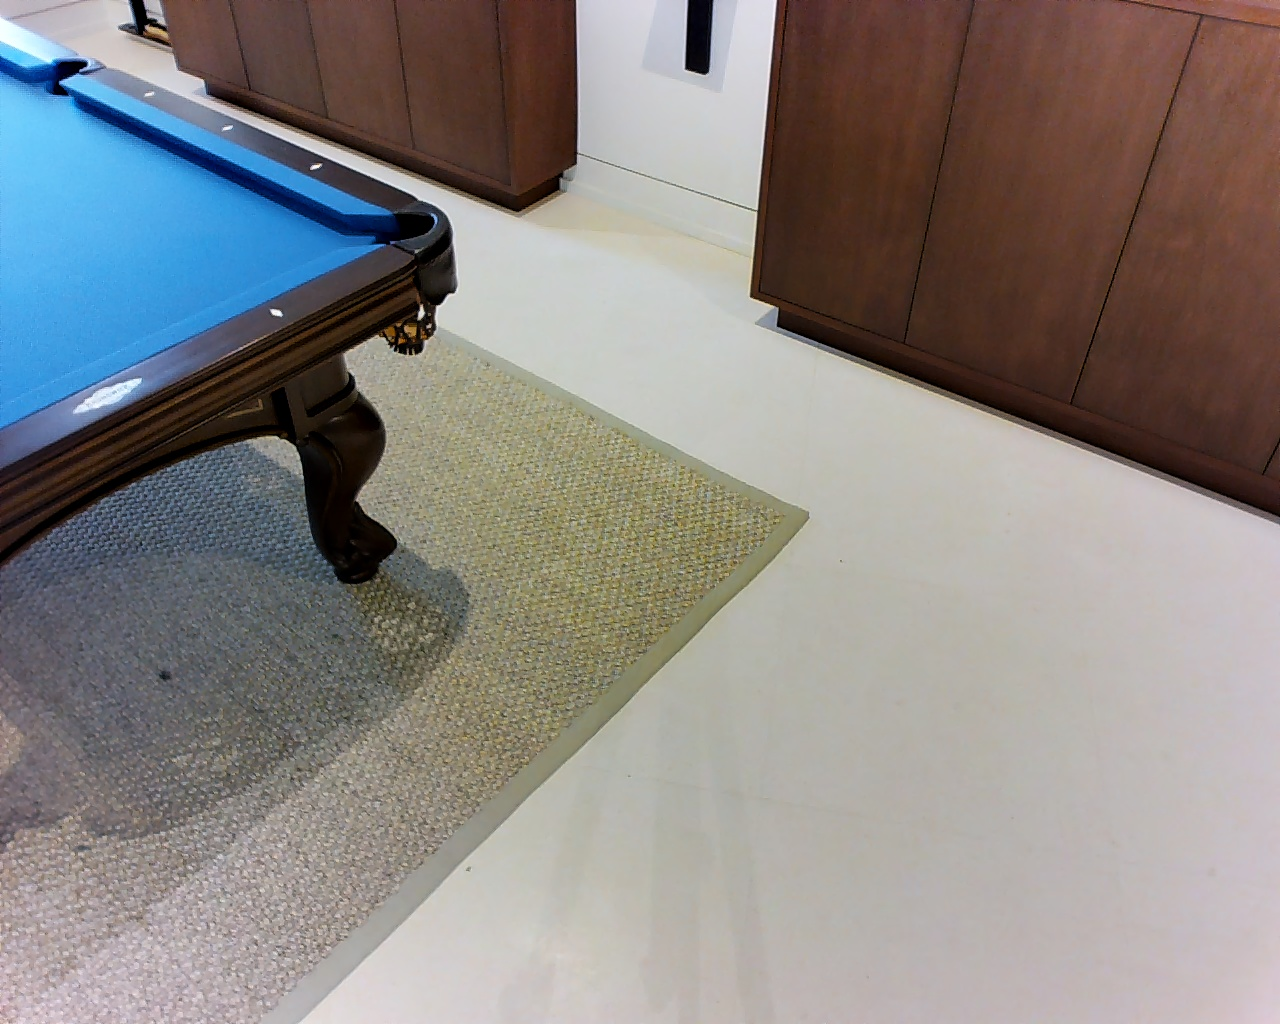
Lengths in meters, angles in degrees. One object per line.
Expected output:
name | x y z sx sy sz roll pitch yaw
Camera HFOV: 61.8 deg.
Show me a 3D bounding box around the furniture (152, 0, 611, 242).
furniture | -0.980 -1.730 3.730 1.900 0.950 0.410 27 48 27
